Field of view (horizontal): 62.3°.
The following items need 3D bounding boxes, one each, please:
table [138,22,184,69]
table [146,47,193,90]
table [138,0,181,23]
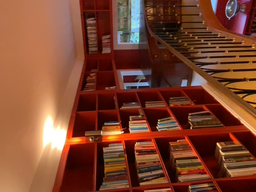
[{"bbox_3d":[0.660,-1.060,4.570,0.820,0.730,0.620,104,162,-68],"label":"table"},{"bbox_3d":[0.750,-0.530,4.020,0.430,0.730,0.680,-108,16,-65],"label":"table"},{"bbox_3d":[0.630,-1.800,4.480,0.550,0.750,0.440,-107,16,-65],"label":"table"}]
